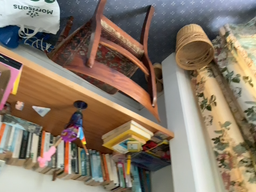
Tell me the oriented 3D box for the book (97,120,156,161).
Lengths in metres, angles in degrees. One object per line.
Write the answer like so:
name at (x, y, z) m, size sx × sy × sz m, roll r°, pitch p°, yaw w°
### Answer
book at (-0.010, 0.270, 1.240) m, size 0.270 × 0.080 × 0.210 m, roll -32°, pitch 129°, yaw 33°
